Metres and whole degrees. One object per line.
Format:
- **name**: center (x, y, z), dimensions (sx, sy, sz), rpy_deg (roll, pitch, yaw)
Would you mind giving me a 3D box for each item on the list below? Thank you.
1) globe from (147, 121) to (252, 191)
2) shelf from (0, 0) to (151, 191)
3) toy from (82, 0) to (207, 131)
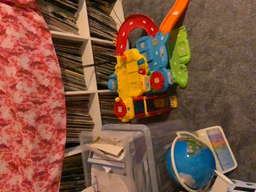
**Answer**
- **globe**: center (0.400, 0.330, 1.170), dimensions (0.380, 0.420, 0.300), rpy_deg (-5, 92, 44)
- **shelf**: center (-0.450, 0.020, 1.640), dimensions (0.740, 0.750, 1.460), rpy_deg (-9, 90, 44)
- **toy**: center (0.100, -0.180, 1.340), dimensions (0.520, 0.460, 0.700), rpy_deg (-8, 90, 44)
